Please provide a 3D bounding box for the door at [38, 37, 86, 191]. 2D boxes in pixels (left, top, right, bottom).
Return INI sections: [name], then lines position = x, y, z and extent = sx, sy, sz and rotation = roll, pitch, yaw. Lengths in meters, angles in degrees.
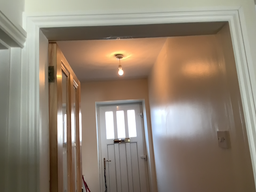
[door]
position = -0.350, 0.770, 1.300
extent = 0.070, 1.990, 0.880
rotation = -3, -8, -4
